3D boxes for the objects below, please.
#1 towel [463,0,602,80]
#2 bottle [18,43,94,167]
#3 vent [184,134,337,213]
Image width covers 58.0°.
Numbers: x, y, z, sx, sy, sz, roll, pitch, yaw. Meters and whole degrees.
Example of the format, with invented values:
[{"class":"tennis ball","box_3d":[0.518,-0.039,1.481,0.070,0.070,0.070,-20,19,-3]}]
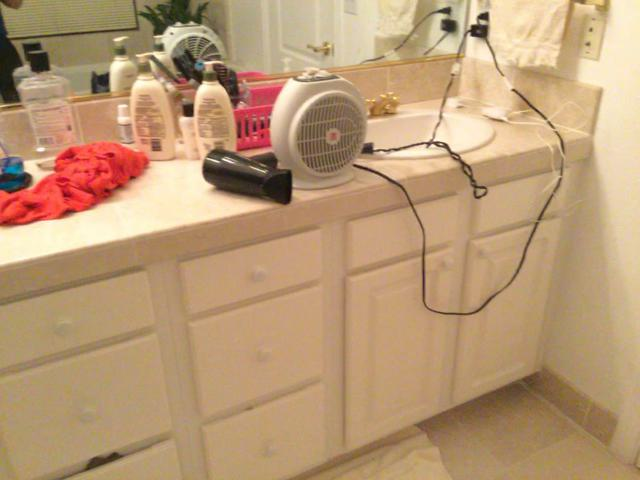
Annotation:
[{"class":"towel","box_3d":[0.570,-0.580,1.600,0.090,0.220,0.380,-13,25,-27]},{"class":"bottle","box_3d":[-0.620,-0.320,1.360,0.110,0.260,0.130,-12,25,-25]},{"class":"vent","box_3d":[-0.140,-0.160,1.300,0.250,0.080,0.280,-12,25,-25]}]
